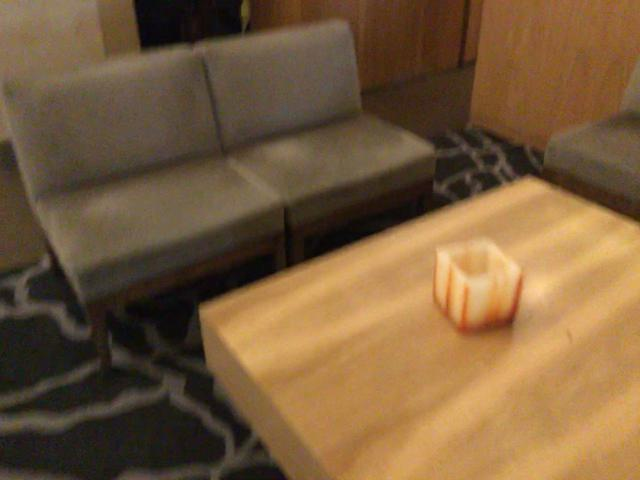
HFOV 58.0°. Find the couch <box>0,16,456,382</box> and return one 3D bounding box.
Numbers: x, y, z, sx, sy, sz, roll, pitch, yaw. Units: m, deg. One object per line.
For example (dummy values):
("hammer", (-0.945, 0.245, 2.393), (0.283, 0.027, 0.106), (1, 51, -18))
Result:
("couch", (-0.320, -0.290, 2.220), (1.510, 0.840, 0.720), (-20, 35, -29))

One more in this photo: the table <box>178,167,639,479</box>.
("table", (0.470, 0.340, 1.490), (1.310, 0.490, 0.940), (-20, 35, -29))
